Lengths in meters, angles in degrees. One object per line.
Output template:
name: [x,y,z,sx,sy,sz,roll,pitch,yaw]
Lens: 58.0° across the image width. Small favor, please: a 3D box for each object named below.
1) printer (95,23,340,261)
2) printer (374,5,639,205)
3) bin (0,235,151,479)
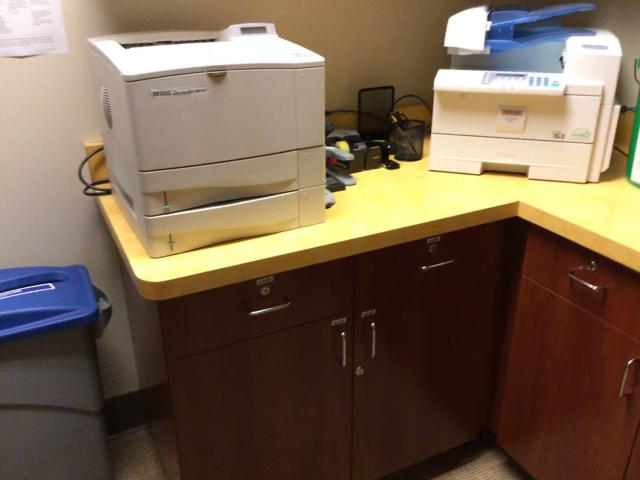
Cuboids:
printer: [-0.230,-0.250,1.270,0.400,0.400,0.410,-11,25,-23]
printer: [0.520,-0.410,1.570,0.530,0.410,0.540,-11,25,-23]
bin: [-0.800,0.410,1.520,0.570,0.680,0.360,-11,25,-23]
